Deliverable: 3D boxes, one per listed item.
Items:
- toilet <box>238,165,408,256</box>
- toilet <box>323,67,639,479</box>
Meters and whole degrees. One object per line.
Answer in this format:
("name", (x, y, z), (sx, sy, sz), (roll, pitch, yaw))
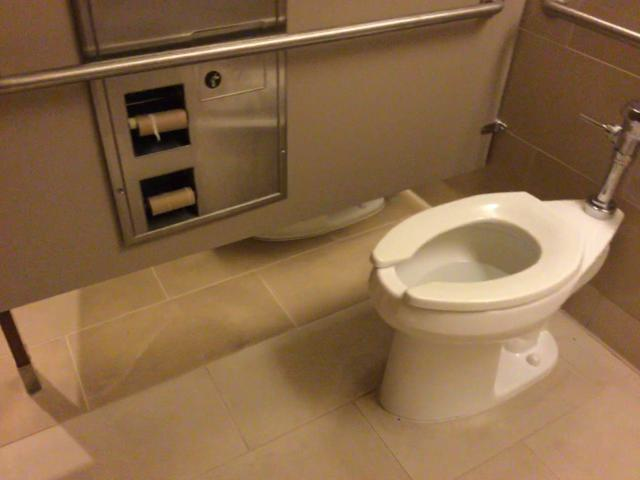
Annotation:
("toilet", (0.020, -0.120, 2.110), (0.600, 0.110, 0.180), (-18, 40, -23))
("toilet", (0.430, 0.060, 1.400), (0.740, 0.730, 0.390), (-18, 40, -24))
